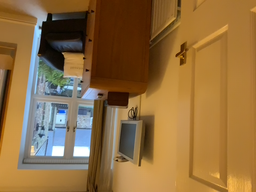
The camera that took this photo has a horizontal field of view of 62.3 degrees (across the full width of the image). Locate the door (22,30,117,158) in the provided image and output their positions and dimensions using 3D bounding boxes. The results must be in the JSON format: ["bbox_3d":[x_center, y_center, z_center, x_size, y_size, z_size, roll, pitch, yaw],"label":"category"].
[{"bbox_3d":[-0.880,0.000,3.440,1.290,1.940,0.120,6,172,-18],"label":"door"}]
